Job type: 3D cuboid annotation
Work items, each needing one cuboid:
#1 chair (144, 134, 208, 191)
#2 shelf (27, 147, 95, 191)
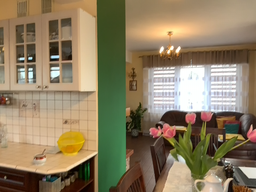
[{"bbox_3d":[0.440,0.900,1.890,0.490,1.000,0.480,1,2,19],"label":"chair"},{"bbox_3d":[-0.570,0.980,1.930,0.310,0.860,0.560,1,2,19],"label":"shelf"}]
